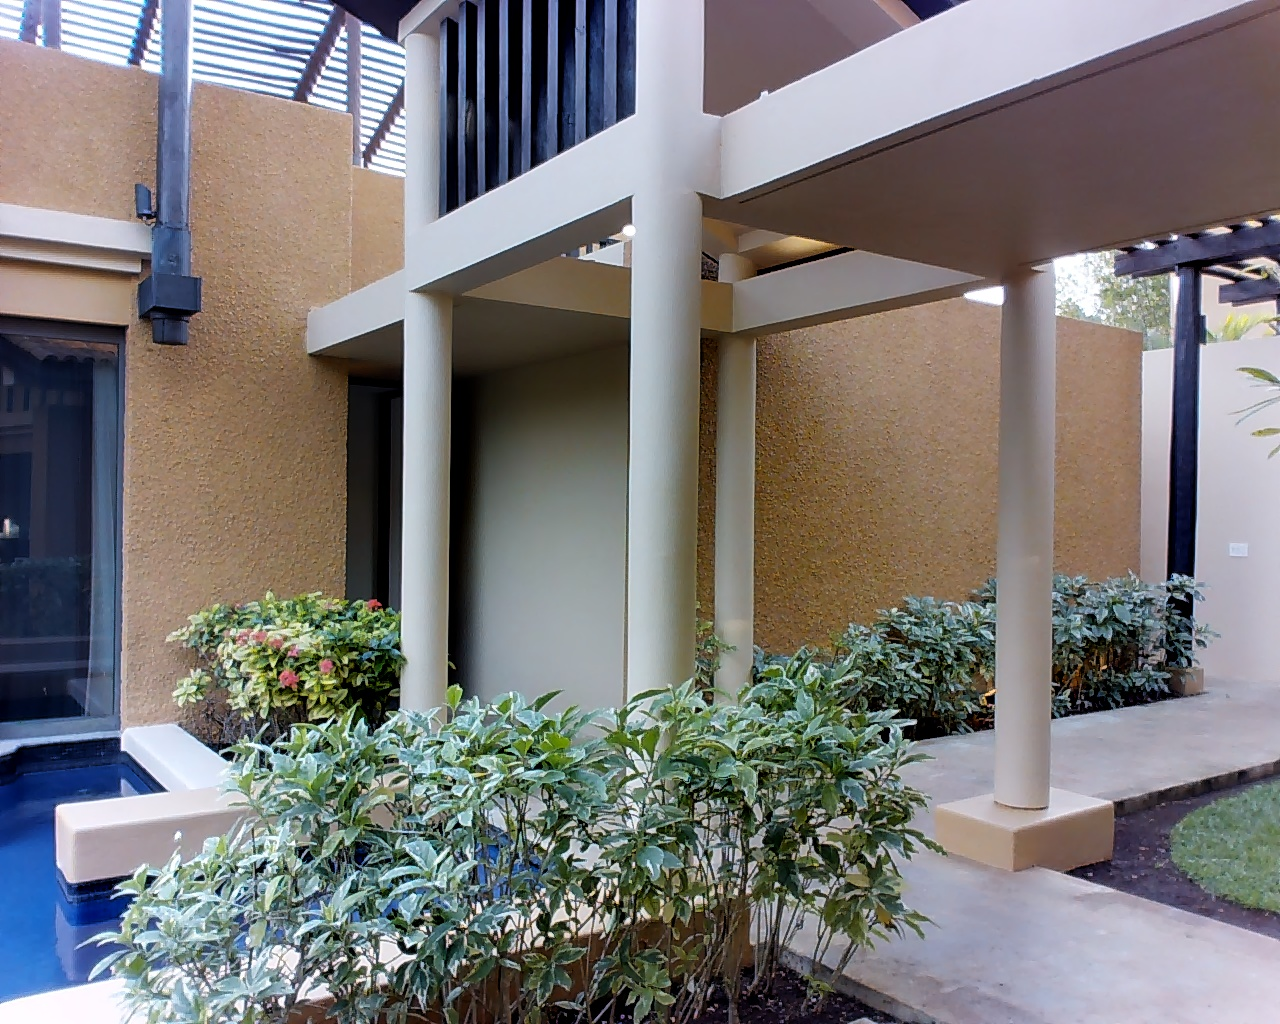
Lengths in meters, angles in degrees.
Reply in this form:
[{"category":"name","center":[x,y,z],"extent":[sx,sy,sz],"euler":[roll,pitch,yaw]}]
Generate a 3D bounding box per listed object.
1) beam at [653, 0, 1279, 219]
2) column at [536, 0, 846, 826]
[{"category":"beam","center":[1.060,-1.270,2.580],"extent":[0.560,0.440,2.770],"euler":[1,0,-34]},{"category":"column","center":[0.180,-0.950,3.540],"extent":[0.880,3.711,0.480],"euler":[1,0,-34]}]
